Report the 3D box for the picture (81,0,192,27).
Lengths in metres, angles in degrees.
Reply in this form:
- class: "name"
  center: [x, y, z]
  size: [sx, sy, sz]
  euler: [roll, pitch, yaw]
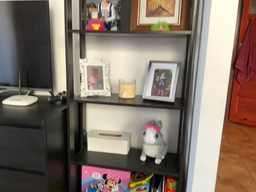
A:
- class: "picture"
  center: [0.060, -0.480, 1.120]
  size: [0.520, 0.180, 0.300]
  euler: [5, 12, 12]
